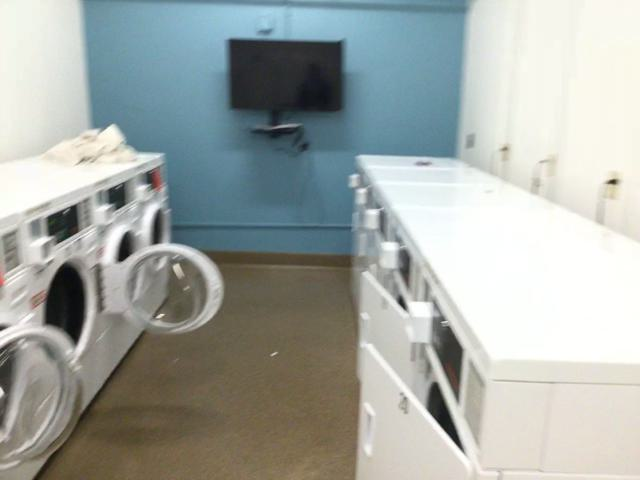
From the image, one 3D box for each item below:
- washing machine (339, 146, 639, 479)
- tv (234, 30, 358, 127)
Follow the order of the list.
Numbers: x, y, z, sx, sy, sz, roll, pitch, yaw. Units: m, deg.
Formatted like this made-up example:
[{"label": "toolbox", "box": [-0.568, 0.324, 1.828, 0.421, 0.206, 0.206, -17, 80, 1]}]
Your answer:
[{"label": "washing machine", "box": [0.580, 0.340, 2.560, 0.920, 1.180, 3.270, 2, 14, 1]}, {"label": "tv", "box": [-0.180, -1.210, 4.360, 0.890, 0.660, 0.270, 2, 14, 1]}]
